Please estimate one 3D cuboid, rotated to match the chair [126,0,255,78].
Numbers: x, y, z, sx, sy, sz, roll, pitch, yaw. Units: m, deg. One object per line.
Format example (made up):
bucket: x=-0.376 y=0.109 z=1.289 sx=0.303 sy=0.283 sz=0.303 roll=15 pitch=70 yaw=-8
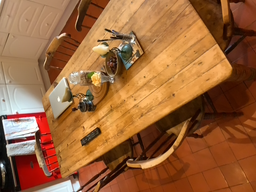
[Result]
chair: x=0.460 y=-0.390 z=1.240 sx=0.400 sy=0.780 sz=0.390 roll=-40 pitch=65 yaw=38
